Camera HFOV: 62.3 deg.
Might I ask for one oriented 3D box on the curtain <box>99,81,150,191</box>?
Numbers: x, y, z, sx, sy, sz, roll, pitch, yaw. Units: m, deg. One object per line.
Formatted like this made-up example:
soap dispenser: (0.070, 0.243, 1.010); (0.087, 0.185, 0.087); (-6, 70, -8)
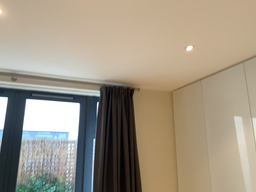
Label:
curtain: (-0.030, 1.060, 1.900); (0.430, 2.400, 0.210); (4, -16, -20)
